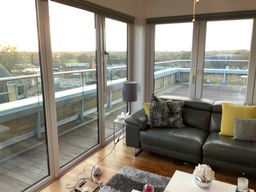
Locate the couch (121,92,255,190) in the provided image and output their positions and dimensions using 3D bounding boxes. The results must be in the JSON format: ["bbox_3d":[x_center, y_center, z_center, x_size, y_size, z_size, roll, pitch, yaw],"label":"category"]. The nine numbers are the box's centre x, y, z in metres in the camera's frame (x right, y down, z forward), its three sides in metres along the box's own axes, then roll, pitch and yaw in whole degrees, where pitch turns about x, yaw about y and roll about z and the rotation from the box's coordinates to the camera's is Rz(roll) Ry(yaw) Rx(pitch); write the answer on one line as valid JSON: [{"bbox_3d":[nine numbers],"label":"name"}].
[{"bbox_3d":[1.490,0.540,2.770,3.030,0.760,1.060,6,13,29],"label":"couch"}]

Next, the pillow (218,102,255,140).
[{"bbox_3d":[1.430,0.330,2.740,0.470,0.540,0.190,0,46,21],"label":"pillow"}]
